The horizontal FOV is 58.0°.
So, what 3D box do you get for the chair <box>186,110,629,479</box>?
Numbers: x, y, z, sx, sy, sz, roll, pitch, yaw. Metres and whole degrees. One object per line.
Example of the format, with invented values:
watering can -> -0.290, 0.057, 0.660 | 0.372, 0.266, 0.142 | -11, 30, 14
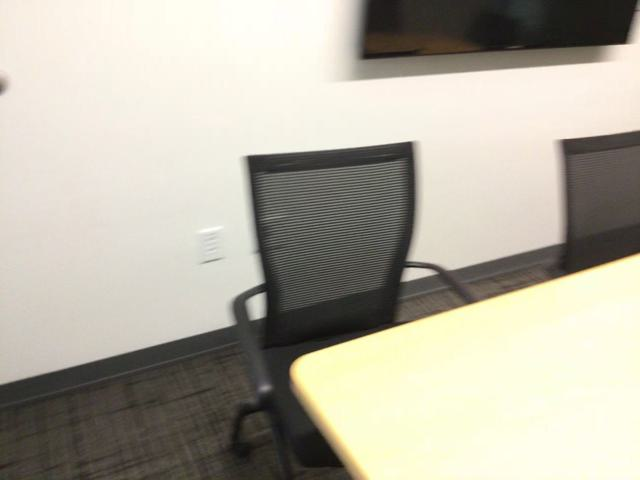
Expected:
chair -> 0.100, 0.280, 1.360 | 0.580, 0.960, 0.720 | -11, 28, -21
